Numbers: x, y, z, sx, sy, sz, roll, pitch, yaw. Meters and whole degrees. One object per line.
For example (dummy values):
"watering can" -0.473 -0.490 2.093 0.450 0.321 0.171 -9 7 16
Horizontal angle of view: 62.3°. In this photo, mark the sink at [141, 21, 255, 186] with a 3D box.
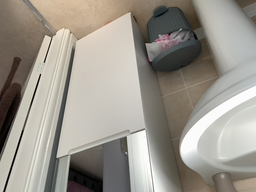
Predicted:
"sink" 0.390 0.030 0.590 0.560 0.200 0.440 -20 136 18
